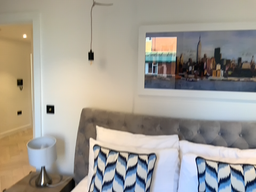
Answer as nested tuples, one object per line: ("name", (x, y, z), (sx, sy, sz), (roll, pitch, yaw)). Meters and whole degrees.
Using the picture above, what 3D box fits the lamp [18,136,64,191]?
("lamp", (-0.770, 0.590, 1.910), (0.250, 0.360, 0.310), (3, 6, 12))

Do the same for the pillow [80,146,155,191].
("pillow", (-0.060, 0.550, 1.400), (0.430, 0.380, 0.210), (-6, -6, 13))
